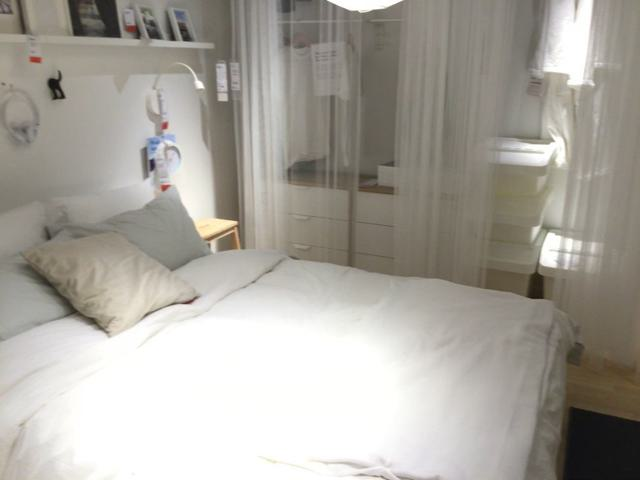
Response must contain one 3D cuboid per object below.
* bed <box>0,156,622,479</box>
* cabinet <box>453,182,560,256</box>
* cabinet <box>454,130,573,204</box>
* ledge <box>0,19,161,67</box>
[{"bbox_3d":[-0.220,0.380,2.080,2.170,0.970,1.920,7,19,27],"label":"bed"},{"bbox_3d":[0.980,-0.120,3.050,0.490,0.300,0.210,7,19,27],"label":"cabinet"},{"bbox_3d":[1.050,-0.410,3.110,0.500,0.280,0.550,7,19,27],"label":"cabinet"},{"bbox_3d":[-1.220,-0.710,2.090,0.150,0.160,1.650,7,19,27],"label":"ledge"}]
